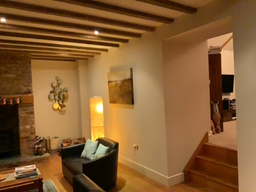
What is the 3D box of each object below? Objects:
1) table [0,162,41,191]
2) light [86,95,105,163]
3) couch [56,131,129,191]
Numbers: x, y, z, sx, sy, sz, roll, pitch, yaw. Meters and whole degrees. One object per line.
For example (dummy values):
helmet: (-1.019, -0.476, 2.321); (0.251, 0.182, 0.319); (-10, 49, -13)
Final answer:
table: (-2.010, 1.380, 3.080); (1.280, 0.400, 0.720); (-3, 1, -32)
light: (-0.760, 0.750, 4.980); (0.300, 1.520, 0.300); (-3, 1, -25)
couch: (-0.710, 1.150, 3.910); (0.870, 0.720, 1.270); (-3, 1, -31)
